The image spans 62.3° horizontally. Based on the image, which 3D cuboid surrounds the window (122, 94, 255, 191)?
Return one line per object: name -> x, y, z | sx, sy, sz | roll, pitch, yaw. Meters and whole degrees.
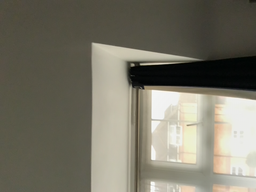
window -> 0.560, 0.690, 1.570 | 0.090, 1.220, 1.380 | -8, -81, -76
